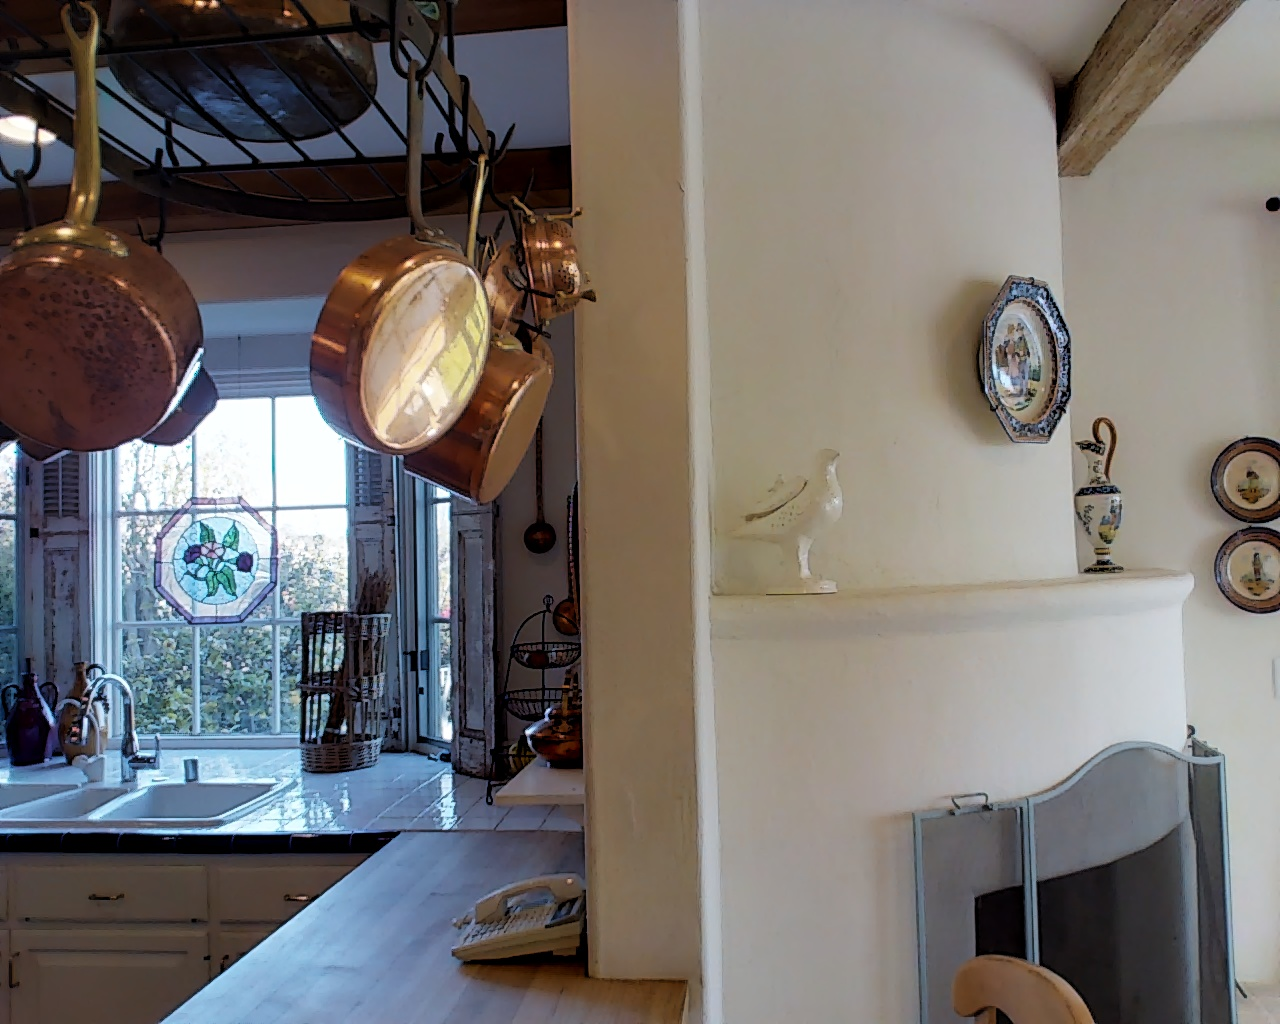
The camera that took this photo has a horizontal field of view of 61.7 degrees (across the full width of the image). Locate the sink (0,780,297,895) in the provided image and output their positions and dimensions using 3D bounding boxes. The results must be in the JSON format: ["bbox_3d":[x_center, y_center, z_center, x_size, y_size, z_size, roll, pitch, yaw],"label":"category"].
[{"bbox_3d":[-1.570,0.920,3.080,1.010,0.200,0.460,-2,-3,7],"label":"sink"}]

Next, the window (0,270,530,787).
[{"bbox_3d":[-1.560,0.090,3.690,2.209,1.540,0.730,-2,-3,7],"label":"window"}]
